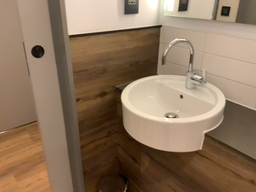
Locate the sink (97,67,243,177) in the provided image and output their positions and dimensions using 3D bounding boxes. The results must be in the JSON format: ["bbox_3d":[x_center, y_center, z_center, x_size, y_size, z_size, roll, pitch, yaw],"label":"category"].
[{"bbox_3d":[0.190,0.060,1.040,0.490,0.200,0.470,-19,33,-35],"label":"sink"}]
